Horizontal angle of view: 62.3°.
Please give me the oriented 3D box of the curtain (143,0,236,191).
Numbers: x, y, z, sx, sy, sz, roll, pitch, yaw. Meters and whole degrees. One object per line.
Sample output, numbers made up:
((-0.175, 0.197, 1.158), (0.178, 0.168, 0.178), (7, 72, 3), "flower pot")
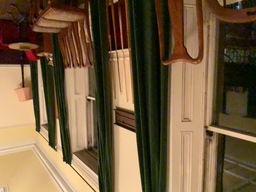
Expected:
((0.410, 0.040, 1.530), (0.390, 2.510, 0.440), (-5, -171, -35), "curtain")

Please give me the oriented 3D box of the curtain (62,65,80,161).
((-1.010, 0.290, 3.760), (0.170, 1.670, 0.290), (-5, -171, -34), "curtain")
